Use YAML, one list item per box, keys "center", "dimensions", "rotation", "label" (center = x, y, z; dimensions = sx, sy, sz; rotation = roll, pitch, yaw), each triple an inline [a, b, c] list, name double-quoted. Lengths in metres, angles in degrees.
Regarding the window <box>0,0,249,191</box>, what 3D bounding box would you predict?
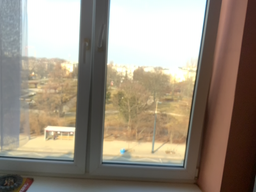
- center: [-0.150, -0.300, 1.250]
  dimensions: [1.530, 1.910, 0.200]
  rotation: [5, 9, 0]
  label: "window"
